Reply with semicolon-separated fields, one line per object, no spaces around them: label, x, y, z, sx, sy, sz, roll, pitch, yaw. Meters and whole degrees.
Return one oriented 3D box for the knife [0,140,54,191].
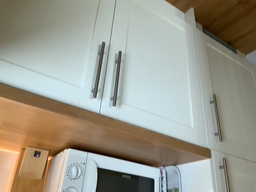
knife;-0.440;0.350;0.900;0.140;0.270;0.160;21;147;-27
